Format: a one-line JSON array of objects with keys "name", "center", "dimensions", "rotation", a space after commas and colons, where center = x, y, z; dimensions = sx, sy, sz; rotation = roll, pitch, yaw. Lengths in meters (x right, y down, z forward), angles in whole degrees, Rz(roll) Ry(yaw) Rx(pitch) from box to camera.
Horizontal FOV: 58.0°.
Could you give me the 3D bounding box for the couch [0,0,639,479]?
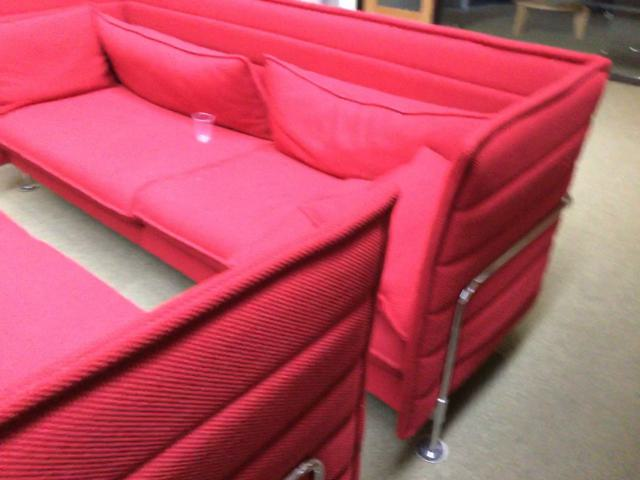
[{"name": "couch", "center": [-0.390, -0.420, 2.140], "dimensions": [2.480, 1.010, 1.000], "rotation": [21, 37, 35]}]
